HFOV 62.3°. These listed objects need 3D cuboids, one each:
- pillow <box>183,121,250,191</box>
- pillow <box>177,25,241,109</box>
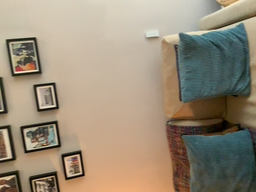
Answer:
[{"bbox_3d":[0.640,0.510,1.510,0.240,0.430,0.540,6,104,53],"label":"pillow"},{"bbox_3d":[0.580,-0.200,1.470,0.200,0.490,0.490,0,99,46],"label":"pillow"}]
